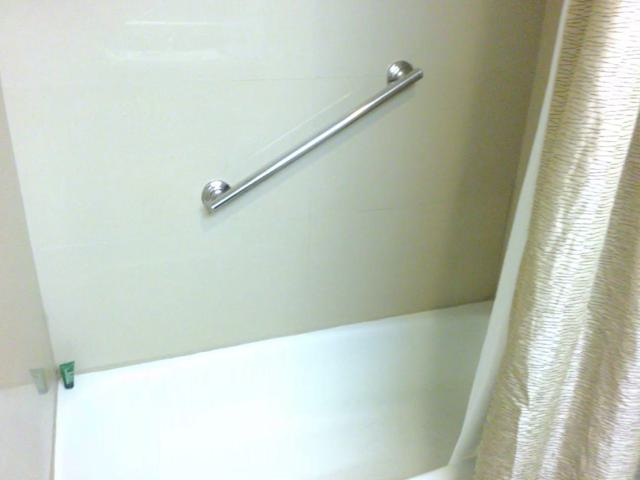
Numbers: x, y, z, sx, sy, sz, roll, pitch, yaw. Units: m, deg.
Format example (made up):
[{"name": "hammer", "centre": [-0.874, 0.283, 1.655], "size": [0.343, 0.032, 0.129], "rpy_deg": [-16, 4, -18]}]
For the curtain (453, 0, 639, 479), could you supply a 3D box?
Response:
[{"name": "curtain", "centre": [0.450, 0.090, 0.960], "size": [0.300, 1.660, 0.180], "rpy_deg": [-6, 23, -20]}]

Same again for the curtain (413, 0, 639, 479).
[{"name": "curtain", "centre": [0.380, 0.080, 1.220], "size": [0.140, 1.080, 0.290], "rpy_deg": [-6, 23, -20]}]

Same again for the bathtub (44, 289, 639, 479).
[{"name": "bathtub", "centre": [0.070, 0.570, 1.580], "size": [1.440, 0.410, 0.730], "rpy_deg": [-6, 23, -20]}]
